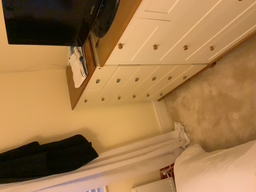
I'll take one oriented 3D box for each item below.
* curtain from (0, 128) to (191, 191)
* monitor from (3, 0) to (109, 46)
[{"bbox_3d":[-0.410,0.610,1.750,0.200,2.140,0.340,-42,57,58],"label":"curtain"},{"bbox_3d":[-0.340,-0.450,1.040,0.650,0.470,0.040,136,124,-59],"label":"monitor"}]
